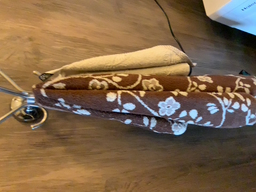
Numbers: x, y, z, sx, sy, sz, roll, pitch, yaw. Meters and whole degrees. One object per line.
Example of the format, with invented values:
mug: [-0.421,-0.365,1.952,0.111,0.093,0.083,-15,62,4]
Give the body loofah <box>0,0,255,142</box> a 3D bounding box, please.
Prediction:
body loofah: [0.140,-0.020,0.570,0.210,0.830,0.210,-27,64,56]
